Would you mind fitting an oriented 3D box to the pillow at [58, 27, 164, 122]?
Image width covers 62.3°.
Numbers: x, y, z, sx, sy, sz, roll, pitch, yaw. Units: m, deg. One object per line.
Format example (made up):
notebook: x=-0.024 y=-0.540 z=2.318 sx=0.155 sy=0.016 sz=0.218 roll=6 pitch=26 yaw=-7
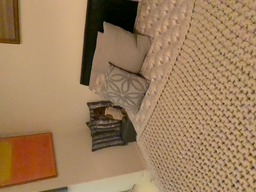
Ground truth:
pillow: x=-0.150 y=-0.160 z=1.970 sx=0.790 sy=0.530 sz=0.250 roll=-32 pitch=48 yaw=12
